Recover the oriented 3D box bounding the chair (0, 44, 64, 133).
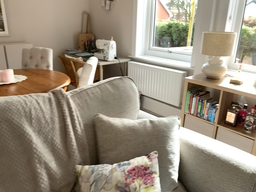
[{"bbox_3d":[-1.140,-0.110,2.620,0.490,0.960,0.550,2,20,-1],"label":"chair"}]

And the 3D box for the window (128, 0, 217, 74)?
[{"bbox_3d":[0.550,-1.070,2.900,0.540,1.290,1.030,-14,25,-37],"label":"window"}]
